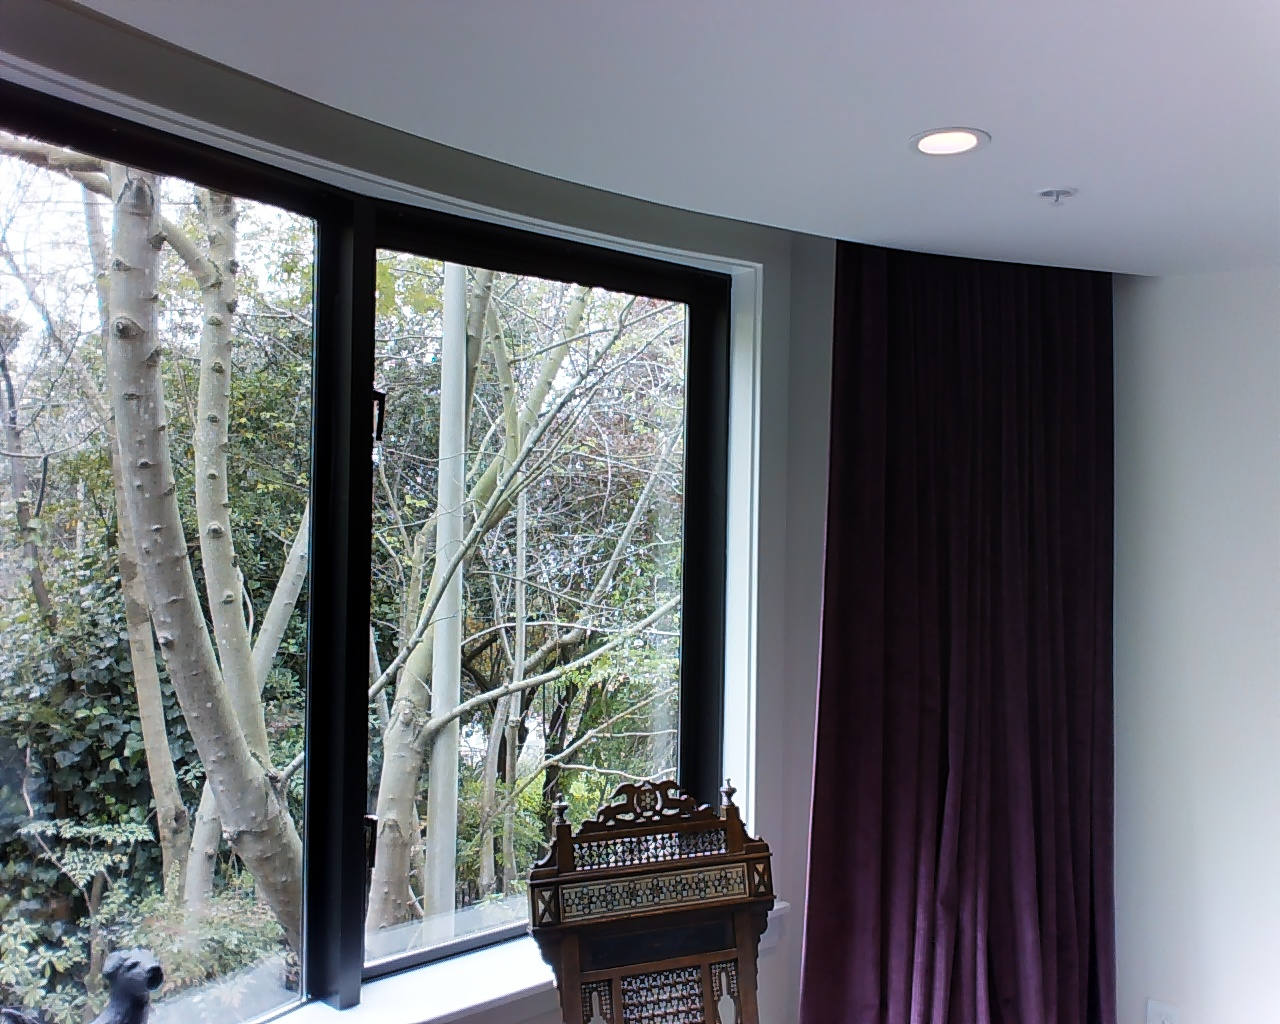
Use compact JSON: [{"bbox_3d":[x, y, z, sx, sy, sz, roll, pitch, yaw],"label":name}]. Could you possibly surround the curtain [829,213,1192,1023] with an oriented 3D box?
[{"bbox_3d":[0.860,0.450,2.480,0.830,2.150,0.160,1,1,-18],"label":"curtain"}]
